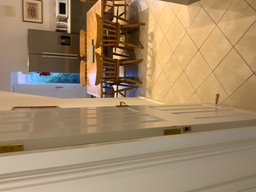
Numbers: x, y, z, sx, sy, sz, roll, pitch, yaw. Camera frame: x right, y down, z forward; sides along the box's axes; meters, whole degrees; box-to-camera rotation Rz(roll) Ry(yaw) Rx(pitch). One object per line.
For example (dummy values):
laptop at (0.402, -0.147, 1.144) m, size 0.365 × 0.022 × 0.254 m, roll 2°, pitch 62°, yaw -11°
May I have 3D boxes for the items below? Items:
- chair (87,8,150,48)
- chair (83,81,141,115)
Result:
chair at (-0.170, -1.030, 3.340) m, size 0.560 × 0.820 × 0.490 m, roll -152°, pitch 63°, yaw -63°
chair at (-0.300, 0.010, 3.690) m, size 0.540 × 0.850 × 0.440 m, roll -146°, pitch 57°, yaw -62°
